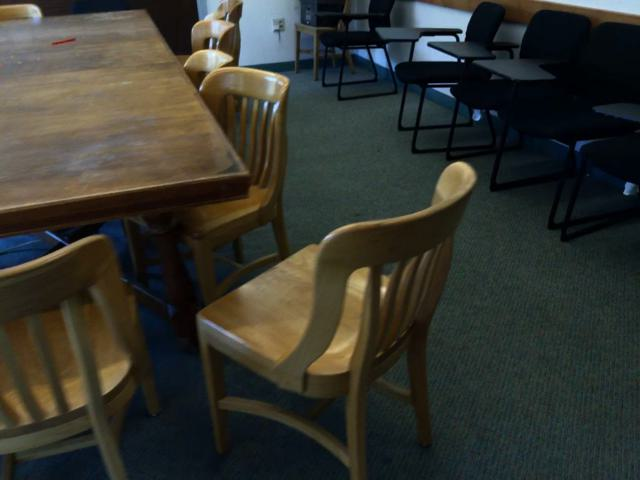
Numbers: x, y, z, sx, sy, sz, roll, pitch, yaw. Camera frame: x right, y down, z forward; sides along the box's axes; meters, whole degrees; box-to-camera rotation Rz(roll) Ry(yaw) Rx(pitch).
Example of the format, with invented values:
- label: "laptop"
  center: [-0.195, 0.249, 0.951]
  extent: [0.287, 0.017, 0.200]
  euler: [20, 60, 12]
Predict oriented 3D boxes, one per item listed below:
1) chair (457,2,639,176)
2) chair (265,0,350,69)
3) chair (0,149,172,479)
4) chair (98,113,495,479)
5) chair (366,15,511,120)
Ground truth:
- label: "chair"
  center: [1.180, -0.740, 2.630]
  extent: [0.660, 0.560, 0.890]
  euler: [-10, 28, -18]
- label: "chair"
  center: [-0.120, -2.040, 5.400]
  extent: [0.640, 0.720, 0.540]
  euler: [-10, 28, -18]
- label: "chair"
  center: [-0.640, 0.300, 1.290]
  extent: [0.500, 0.820, 0.560]
  euler: [-10, 28, -18]
- label: "chair"
  center: [-0.010, 0.200, 1.460]
  extent: [0.590, 0.830, 0.680]
  euler: [16, 31, 30]
- label: "chair"
  center: [0.690, -1.090, 3.560]
  extent: [0.570, 0.480, 0.690]
  euler: [-10, 28, -18]
